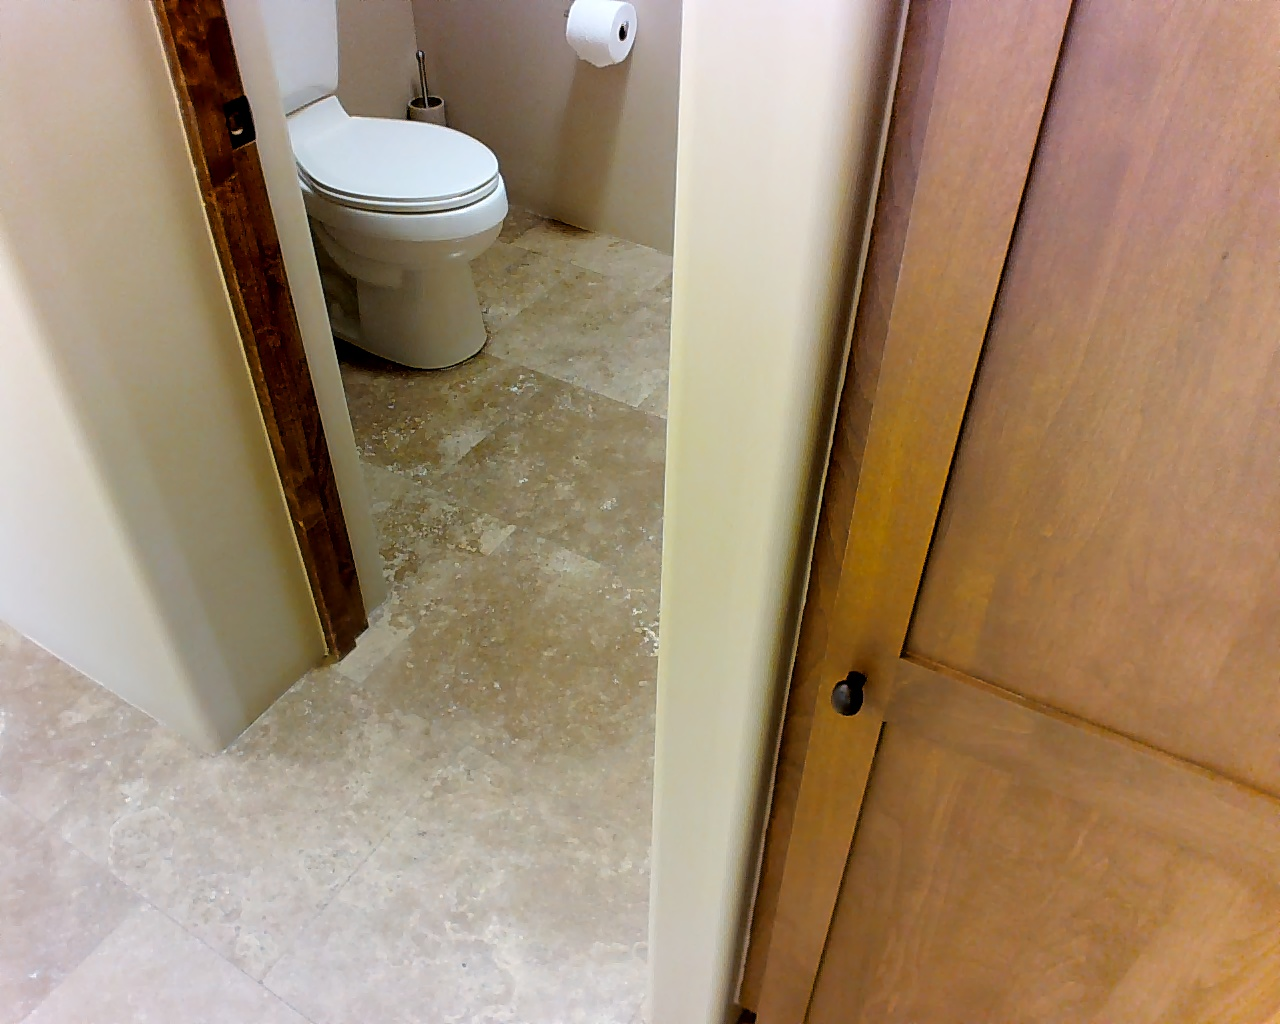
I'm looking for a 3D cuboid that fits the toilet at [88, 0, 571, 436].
[{"bbox_3d":[-0.630,-0.740,2.360,0.790,0.820,0.470,21,46,22],"label":"toilet"}]
